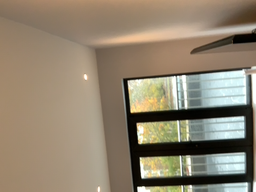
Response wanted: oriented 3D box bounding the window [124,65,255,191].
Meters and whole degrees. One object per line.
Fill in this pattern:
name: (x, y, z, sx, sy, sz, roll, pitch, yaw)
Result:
window: (1.040, 0.990, 3.500, 0.190, 2.170, 2.940, -60, -30, -81)
